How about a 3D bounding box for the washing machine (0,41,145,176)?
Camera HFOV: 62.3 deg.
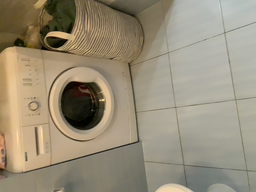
[{"bbox_3d":[-0.430,0.090,1.450,0.630,0.830,0.600,-13,82,44],"label":"washing machine"}]
